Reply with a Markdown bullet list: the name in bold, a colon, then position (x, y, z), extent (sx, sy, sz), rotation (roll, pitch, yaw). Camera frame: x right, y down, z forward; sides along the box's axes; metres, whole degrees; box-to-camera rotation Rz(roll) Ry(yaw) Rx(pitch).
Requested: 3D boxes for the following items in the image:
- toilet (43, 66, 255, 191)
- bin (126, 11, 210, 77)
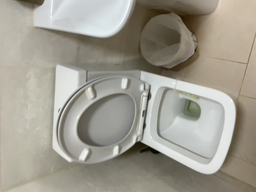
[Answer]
- **toilet**: position (0.140, 0.120, 0.980), extent (0.560, 0.810, 0.400), rotation (22, 110, 38)
- **bin**: position (0.220, -0.280, 1.170), extent (0.270, 0.320, 0.270), rotation (26, 112, 37)
